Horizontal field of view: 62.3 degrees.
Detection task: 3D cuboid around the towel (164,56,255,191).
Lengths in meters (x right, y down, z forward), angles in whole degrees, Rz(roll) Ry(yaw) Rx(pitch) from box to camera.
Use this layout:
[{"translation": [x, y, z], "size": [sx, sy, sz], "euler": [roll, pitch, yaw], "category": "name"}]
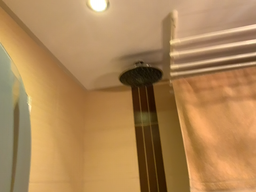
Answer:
[{"translation": [0.650, 0.160, 1.060], "size": [0.840, 0.710, 0.190], "euler": [-6, -22, 6], "category": "towel"}]
